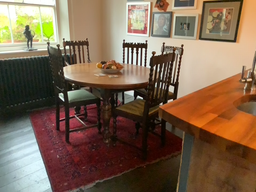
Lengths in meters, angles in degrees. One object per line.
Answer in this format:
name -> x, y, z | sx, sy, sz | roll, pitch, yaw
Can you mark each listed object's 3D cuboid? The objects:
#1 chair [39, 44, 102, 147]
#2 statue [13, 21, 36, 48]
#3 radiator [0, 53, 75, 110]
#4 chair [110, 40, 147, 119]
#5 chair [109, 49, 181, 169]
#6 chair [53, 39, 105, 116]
chair -> -0.640, -0.040, 2.440 | 0.530, 1.040, 0.420 | -12, 23, -33
statue -> -1.690, -1.010, 3.460 | 0.180, 0.410, 0.240 | 19, 25, 41
radiator -> -1.510, -0.290, 3.470 | 0.160, 0.700, 1.390 | 17, 24, 38
chair -> 0.010, -0.260, 3.130 | 0.420, 1.040, 0.530 | 5, 19, 10
chair -> 0.150, 0.090, 2.140 | 0.530, 1.030, 0.420 | 15, 23, 35
chair -> -0.740, -0.320, 3.260 | 0.520, 1.040, 0.560 | -15, 25, -39
